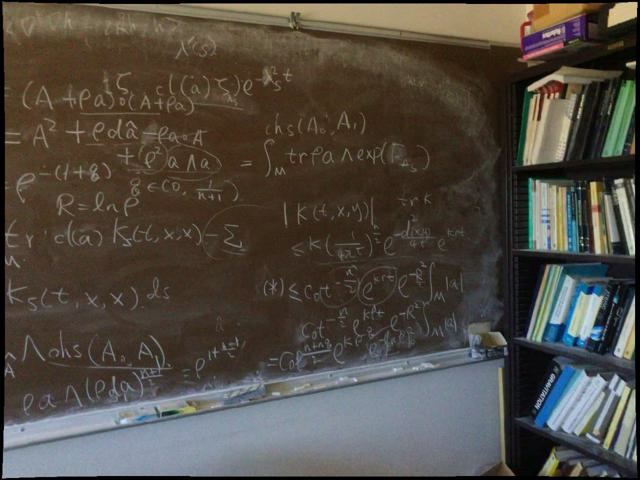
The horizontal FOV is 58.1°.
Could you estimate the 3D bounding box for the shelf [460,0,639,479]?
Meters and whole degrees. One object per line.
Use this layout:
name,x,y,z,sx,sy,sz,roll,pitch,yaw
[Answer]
shelf,0.967,0.201,1.790,0.399,1.714,1.079,-3,3,-27
